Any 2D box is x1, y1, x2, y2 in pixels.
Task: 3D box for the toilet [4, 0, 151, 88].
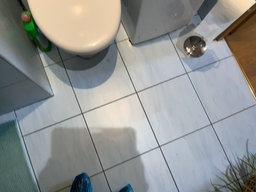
[{"bbox_3d":[-0.240,-0.480,0.920,0.380,0.780,0.630,-20,81,-9],"label":"toilet"}]
